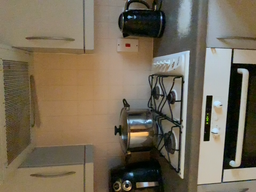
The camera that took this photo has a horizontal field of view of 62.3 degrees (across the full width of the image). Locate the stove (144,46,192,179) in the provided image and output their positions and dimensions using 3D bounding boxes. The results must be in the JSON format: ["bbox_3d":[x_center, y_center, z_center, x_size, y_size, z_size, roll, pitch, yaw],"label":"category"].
[{"bbox_3d":[0.190,0.050,1.180,0.550,0.040,0.580,-149,59,-77],"label":"stove"}]

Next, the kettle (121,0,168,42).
[{"bbox_3d":[0.090,-0.450,1.260,0.190,0.230,0.210,-153,63,-77],"label":"kettle"}]
